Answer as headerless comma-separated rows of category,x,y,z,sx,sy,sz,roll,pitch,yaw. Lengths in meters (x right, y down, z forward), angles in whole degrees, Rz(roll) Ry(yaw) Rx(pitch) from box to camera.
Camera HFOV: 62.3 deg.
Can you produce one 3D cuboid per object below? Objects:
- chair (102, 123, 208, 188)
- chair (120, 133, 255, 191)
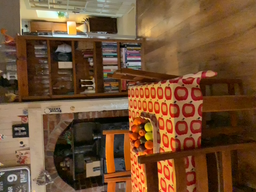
chair,0.260,0.550,2.170,0.450,0.950,0.450,171,97,-71
chair,0.480,0.570,1.500,0.450,0.980,0.450,-176,85,-71
